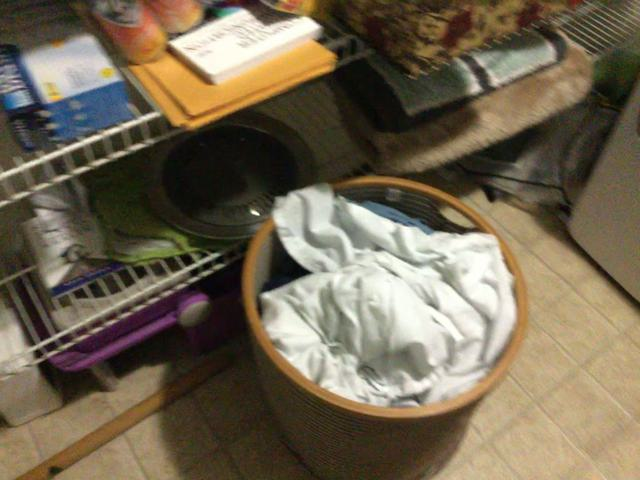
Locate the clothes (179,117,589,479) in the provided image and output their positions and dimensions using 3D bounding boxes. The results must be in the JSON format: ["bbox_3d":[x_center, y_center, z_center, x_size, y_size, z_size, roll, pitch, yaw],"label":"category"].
[{"bbox_3d":[0.080,0.080,0.950,0.420,0.210,0.460,-28,57,-22],"label":"clothes"}]

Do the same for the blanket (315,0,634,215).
[{"bbox_3d":[0.340,-0.340,1.290,0.670,0.190,0.260,-28,57,-22],"label":"blanket"}]

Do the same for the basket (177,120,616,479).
[{"bbox_3d":[0.100,0.190,1.060,0.480,0.520,0.440,-28,57,-22],"label":"basket"}]
